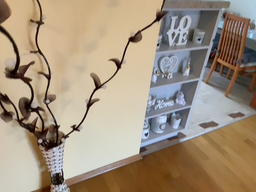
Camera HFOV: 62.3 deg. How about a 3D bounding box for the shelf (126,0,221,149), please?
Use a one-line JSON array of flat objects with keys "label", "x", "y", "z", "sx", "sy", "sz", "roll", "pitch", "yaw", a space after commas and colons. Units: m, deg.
[{"label": "shelf", "x": 0.310, "y": -0.130, "z": 1.710, "sx": 0.550, "sy": 1.170, "sz": 0.170, "roll": -13, "pitch": 37, "yaw": -27}]
